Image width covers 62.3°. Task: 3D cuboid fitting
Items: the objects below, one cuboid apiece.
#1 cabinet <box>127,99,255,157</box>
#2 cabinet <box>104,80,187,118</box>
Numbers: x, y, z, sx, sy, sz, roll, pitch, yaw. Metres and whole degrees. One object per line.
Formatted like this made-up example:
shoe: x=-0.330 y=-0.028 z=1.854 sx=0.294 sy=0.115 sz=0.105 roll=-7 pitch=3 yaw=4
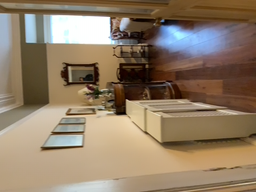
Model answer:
cabinet: x=0.560 y=0.220 z=2.140 sx=1.370 sy=0.900 sz=0.240 roll=-159 pitch=68 yaw=-79
cabinet: x=0.170 y=-0.020 z=3.740 sx=1.720 sy=1.040 sz=0.490 roll=-159 pitch=68 yaw=-79
